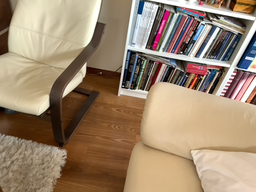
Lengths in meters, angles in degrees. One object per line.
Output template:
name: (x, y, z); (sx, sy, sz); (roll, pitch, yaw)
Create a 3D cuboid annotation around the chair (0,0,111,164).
chair: (-0.590, -0.300, 1.310); (0.680, 0.980, 0.810); (17, 40, 7)
